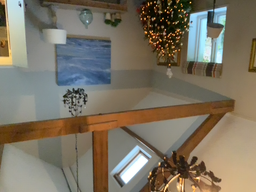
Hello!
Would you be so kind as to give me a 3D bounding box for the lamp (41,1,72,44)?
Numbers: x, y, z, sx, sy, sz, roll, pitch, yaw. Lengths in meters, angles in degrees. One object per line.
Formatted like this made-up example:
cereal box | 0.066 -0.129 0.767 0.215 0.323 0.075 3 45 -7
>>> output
lamp | -1.380 -1.370 4.070 0.470 0.700 0.520 -4 -167 -24
